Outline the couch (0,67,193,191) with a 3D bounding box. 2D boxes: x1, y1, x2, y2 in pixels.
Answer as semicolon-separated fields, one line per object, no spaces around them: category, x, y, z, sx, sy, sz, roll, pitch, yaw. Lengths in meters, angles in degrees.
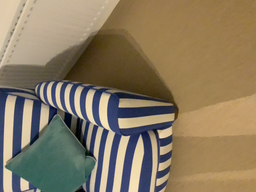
couch;-0.280;0.340;1.290;0.920;0.840;0.920;13;102;38
